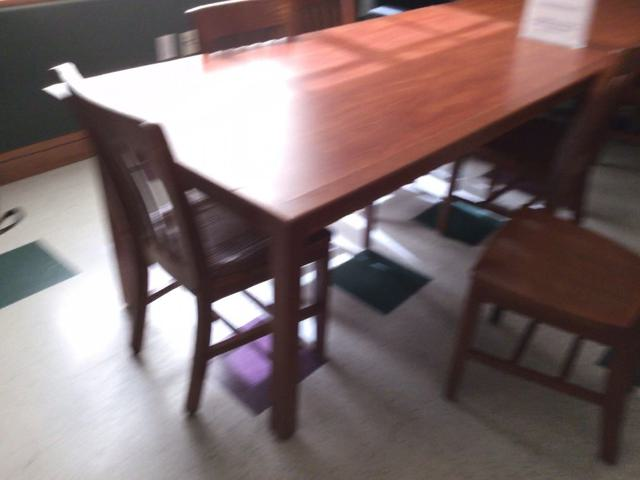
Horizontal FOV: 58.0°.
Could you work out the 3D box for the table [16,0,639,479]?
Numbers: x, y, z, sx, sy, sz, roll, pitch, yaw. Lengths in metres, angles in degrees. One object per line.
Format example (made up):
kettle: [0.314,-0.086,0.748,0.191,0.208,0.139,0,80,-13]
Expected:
table: [0.800,-0.590,2.570,1.000,0.800,3.640,28,41,33]
